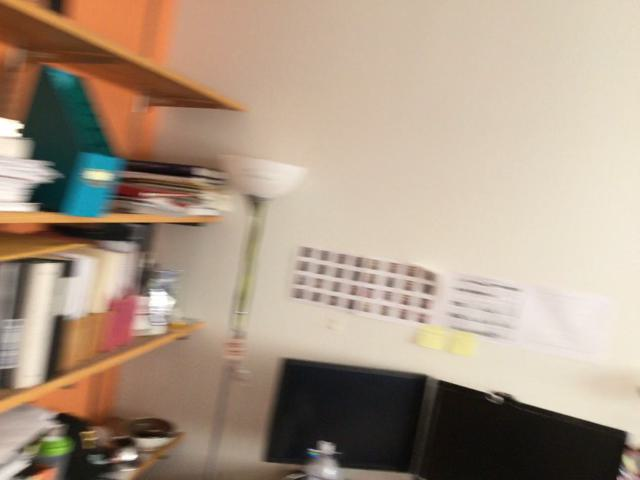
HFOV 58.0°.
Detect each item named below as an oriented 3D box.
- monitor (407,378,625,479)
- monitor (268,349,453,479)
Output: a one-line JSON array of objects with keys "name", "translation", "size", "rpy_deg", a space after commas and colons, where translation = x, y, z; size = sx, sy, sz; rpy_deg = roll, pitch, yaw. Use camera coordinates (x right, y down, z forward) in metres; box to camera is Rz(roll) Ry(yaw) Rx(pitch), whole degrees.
[{"name": "monitor", "translation": [0.560, 0.700, 1.730], "size": [0.560, 0.440, 0.220], "rpy_deg": [5, 2, 17]}, {"name": "monitor", "translation": [0.130, 0.640, 1.840], "size": [0.520, 0.470, 0.250], "rpy_deg": [5, 2, 17]}]
